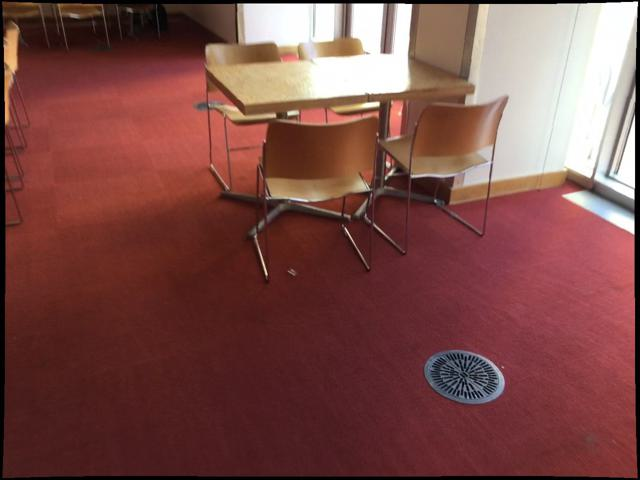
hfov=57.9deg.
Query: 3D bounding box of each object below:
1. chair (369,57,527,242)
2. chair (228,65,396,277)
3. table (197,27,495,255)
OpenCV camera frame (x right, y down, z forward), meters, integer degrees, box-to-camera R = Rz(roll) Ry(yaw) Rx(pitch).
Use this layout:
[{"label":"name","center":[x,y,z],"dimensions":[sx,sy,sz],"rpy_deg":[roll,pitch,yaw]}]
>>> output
[{"label":"chair","center":[0.589,-0.460,2.840],"dimensions":[0.520,0.680,0.500],"rpy_deg":[-15,34,-19]},{"label":"chair","center":[-0.040,-0.330,2.590],"dimensions":[0.540,0.690,0.560],"rpy_deg":[-14,34,-17]},{"label":"table","center":[0.120,-0.611,3.180],"dimensions":[1.299,0.771,0.830],"rpy_deg":[-15,34,-19]}]
